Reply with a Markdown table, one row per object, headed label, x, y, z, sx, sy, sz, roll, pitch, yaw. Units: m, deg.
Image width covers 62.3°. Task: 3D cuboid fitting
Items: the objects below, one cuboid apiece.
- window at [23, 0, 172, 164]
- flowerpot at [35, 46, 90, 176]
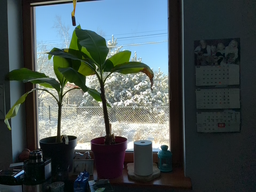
| label | x | y | z | sx | sy | sz | roll | pitch | yaw |
| --- | --- | --- | --- | --- | --- | --- | --- | --- | --- |
| window | -0.290 | -0.240 | 1.960 | 1.360 | 1.610 | 0.180 | 0 | 2 | 12 |
| flowerpot | -0.550 | 0.120 | 1.820 | 0.360 | 1.020 | 0.240 | 0 | 2 | 11 |
